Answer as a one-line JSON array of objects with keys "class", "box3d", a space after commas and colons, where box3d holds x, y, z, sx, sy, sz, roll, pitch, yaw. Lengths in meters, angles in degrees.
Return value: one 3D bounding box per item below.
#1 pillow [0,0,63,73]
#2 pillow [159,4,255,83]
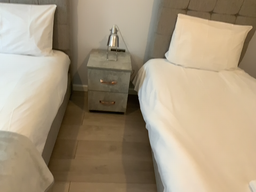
[{"class": "pillow", "box3d": [-0.990, -0.570, 1.720, 0.760, 0.420, 0.190, 27, 28, -20]}, {"class": "pillow", "box3d": [0.730, -0.450, 1.910, 0.760, 0.460, 0.180, 14, 32, -14]}]
